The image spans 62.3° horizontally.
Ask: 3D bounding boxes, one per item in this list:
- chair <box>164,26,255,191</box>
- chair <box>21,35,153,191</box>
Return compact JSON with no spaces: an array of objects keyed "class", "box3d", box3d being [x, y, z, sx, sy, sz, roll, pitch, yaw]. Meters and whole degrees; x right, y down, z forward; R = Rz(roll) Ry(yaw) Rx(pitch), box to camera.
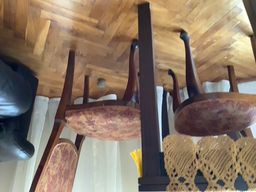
[{"class":"chair","box3d":[0.490,0.130,1.040,0.510,0.850,0.410,-1,154,1]},{"class":"chair","box3d":[-0.150,0.180,1.120,0.500,0.870,0.400,-5,154,9]}]
